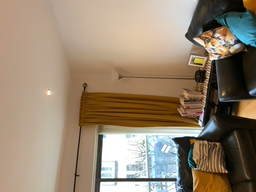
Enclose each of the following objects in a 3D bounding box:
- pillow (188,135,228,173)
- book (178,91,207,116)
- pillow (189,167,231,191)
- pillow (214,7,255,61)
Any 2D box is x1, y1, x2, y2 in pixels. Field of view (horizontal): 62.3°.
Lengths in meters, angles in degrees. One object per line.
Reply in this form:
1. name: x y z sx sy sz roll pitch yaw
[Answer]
1. pillow: 0.960 0.710 2.590 0.240 0.320 0.380 104 167 -56
2. book: 0.970 0.110 3.220 0.220 0.340 0.320 -102 14 -73
3. pillow: 0.940 1.000 2.460 0.200 0.350 0.270 113 159 -52
4. pillow: 1.120 -0.570 1.980 0.360 0.430 0.310 97 173 -55
